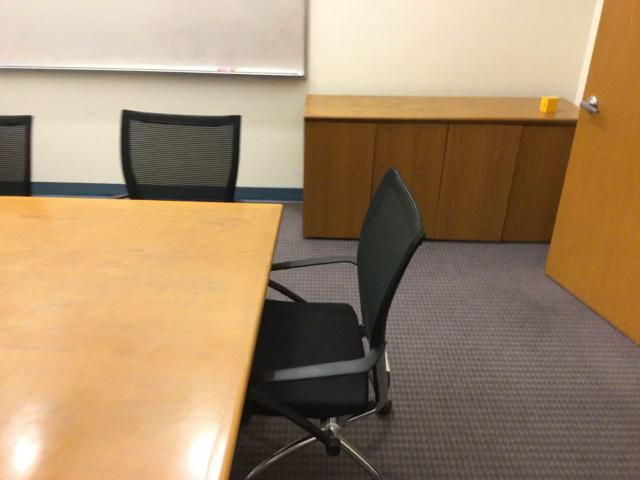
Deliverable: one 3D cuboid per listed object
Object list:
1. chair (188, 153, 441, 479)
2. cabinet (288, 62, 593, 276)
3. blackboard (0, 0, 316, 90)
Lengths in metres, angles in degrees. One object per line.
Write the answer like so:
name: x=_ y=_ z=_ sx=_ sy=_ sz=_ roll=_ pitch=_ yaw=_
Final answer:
chair: x=-0.030 y=0.280 z=1.610 sx=0.510 sy=0.880 sz=0.550 roll=3 pitch=26 yaw=-1
cabinet: x=0.600 y=-0.420 z=3.270 sx=1.390 sy=0.820 sz=0.600 roll=10 pitch=25 yaw=1
blackboard: x=-1.090 y=-1.510 z=3.100 sx=2.150 sy=1.270 sz=0.090 roll=3 pitch=26 yaw=-1
